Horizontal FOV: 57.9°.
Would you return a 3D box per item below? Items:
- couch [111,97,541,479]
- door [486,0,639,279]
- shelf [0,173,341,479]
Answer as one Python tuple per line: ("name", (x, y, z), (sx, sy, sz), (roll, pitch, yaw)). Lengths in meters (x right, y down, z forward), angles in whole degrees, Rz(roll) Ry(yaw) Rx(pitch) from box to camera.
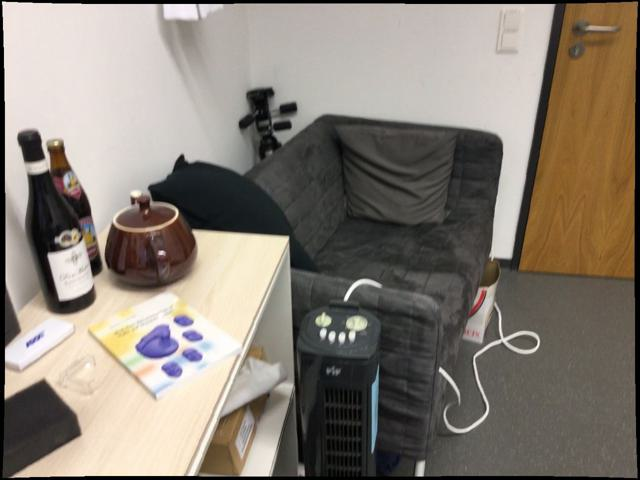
("couch", (0.160, 0.090, 1.920), (0.829, 0.681, 1.330), (13, 33, 21))
("door", (1.279, -0.711, 2.010), (1.099, 1.961, 0.100), (4, 31, 7))
("shelf", (-0.280, 0.490, 1.040), (0.539, 0.921, 0.860), (4, 31, 7))
